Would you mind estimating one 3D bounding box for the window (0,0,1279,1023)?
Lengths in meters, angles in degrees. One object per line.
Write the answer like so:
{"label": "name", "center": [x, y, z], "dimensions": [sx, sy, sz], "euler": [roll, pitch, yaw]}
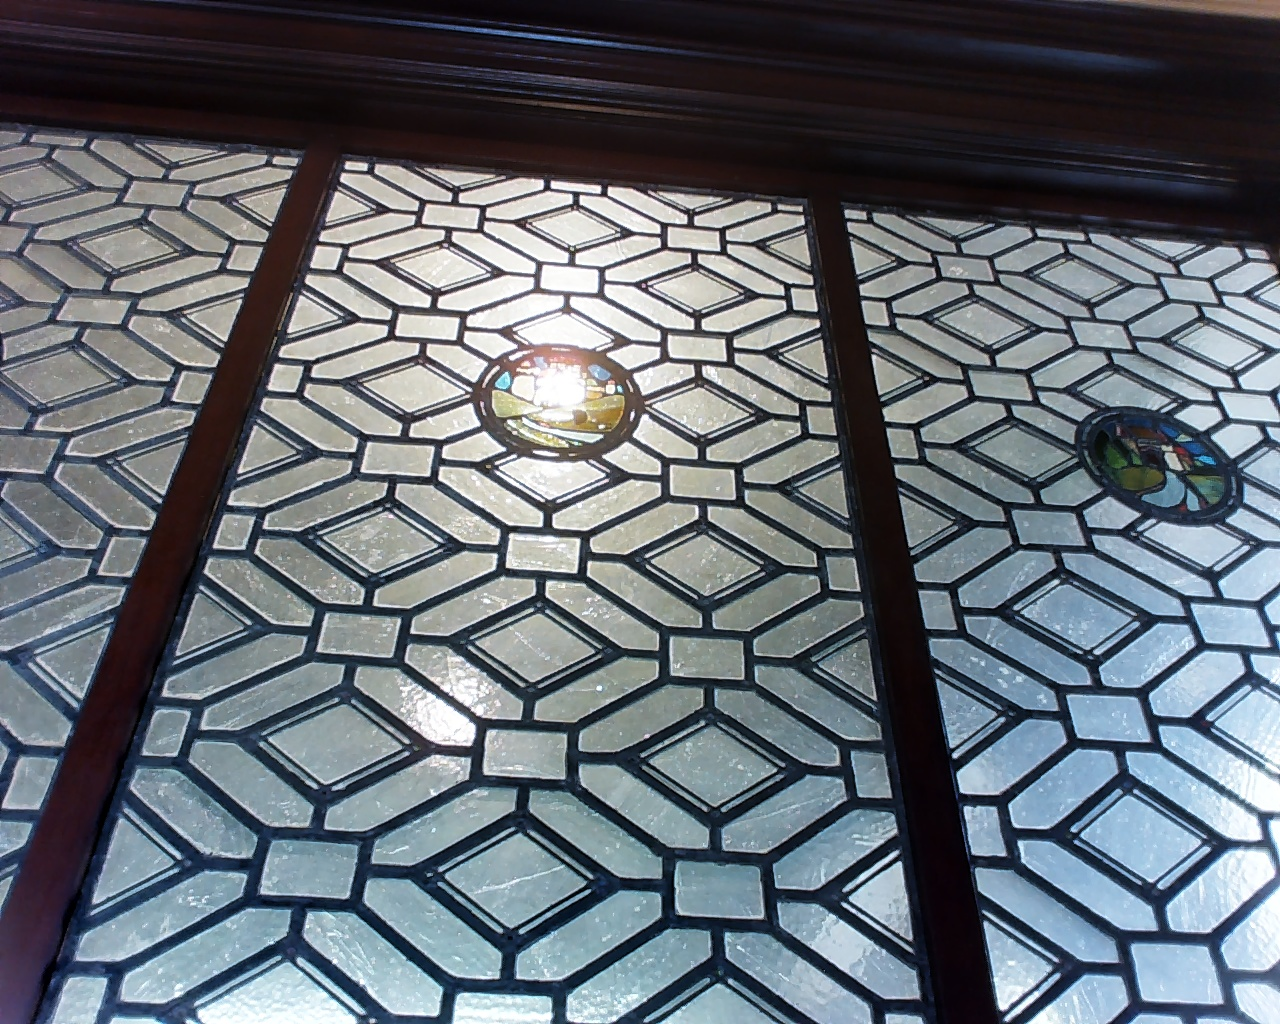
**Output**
{"label": "window", "center": [-0.070, -0.160, 1.300], "dimensions": [3.020, 2.250, 0.290], "euler": [5, -41, -4]}
